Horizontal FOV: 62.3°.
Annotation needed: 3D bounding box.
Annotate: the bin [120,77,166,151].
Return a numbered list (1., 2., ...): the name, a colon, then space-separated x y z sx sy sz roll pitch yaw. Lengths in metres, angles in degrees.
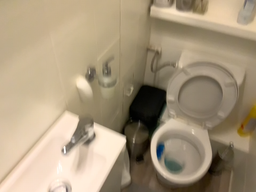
1. bin: 0.110 0.140 1.620 0.200 0.410 0.330 20 47 16
